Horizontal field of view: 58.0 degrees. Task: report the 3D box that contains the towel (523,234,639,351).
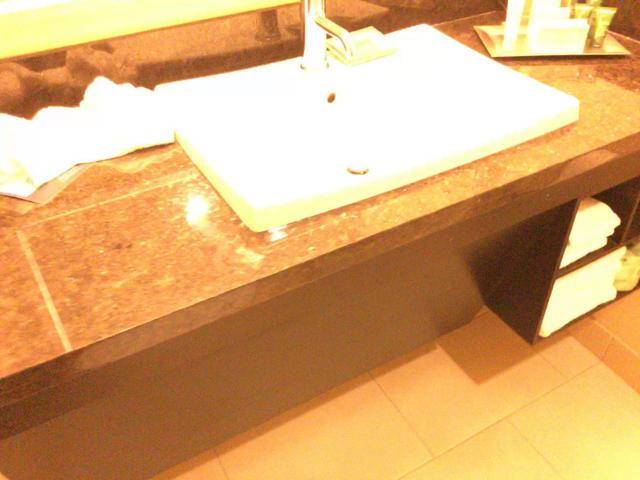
[{"bbox_3d":[0.570,0.110,1.240,0.270,0.160,0.060,-21,43,-25],"label":"towel"}]
